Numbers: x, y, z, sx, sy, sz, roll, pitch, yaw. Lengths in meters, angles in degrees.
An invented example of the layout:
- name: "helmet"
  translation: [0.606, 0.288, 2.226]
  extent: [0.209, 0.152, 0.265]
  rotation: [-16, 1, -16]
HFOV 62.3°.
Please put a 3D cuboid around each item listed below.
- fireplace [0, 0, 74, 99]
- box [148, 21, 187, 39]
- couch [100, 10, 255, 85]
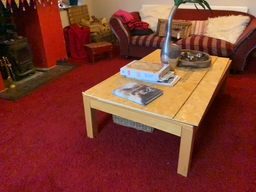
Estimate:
- name: "fireplace"
  translation: [-1.720, -0.850, 2.950]
  extent: [0.800, 1.250, 1.960]
  rotation: [10, 29, 18]
- name: "box"
  translation: [0.640, -1.110, 3.540]
  extent: [0.530, 0.220, 0.370]
  rotation: [-3, 27, -7]
- name: "couch"
  translation: [0.890, -1.000, 3.720]
  extent: [2.400, 0.800, 1.280]
  rotation: [13, 28, 24]
